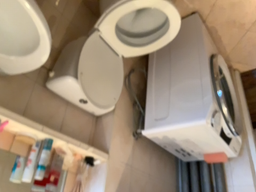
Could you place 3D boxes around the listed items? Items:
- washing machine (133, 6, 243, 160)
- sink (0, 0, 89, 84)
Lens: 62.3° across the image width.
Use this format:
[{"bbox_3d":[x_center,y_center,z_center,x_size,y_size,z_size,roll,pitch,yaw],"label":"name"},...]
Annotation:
[{"bbox_3d":[0.440,-0.050,1.570,0.480,0.840,0.640,-17,143,32],"label":"washing machine"},{"bbox_3d":[-0.470,-0.300,0.710,0.420,0.190,0.490,-17,143,32],"label":"sink"}]
